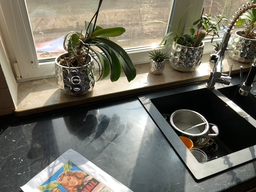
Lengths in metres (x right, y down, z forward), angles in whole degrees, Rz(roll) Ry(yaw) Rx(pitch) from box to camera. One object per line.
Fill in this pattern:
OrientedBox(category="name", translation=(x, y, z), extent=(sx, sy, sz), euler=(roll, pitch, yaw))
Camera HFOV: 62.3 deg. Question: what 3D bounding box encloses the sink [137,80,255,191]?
OrientedBox(category="sink", translation=(0.350, 0.180, 1.030), extent=(0.430, 0.210, 0.530), euler=(-11, 38, -18))
